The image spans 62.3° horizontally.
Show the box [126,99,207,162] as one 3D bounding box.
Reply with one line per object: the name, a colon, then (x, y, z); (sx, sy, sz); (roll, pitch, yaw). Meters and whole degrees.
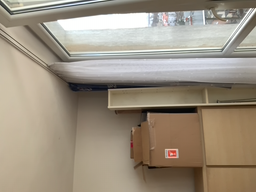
box: (0.370, 0.370, 2.250); (0.530, 0.730, 0.580); (70, -160, -76)
